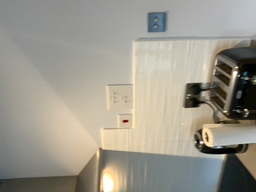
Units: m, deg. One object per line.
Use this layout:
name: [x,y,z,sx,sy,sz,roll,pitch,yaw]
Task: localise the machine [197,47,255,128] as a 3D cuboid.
machine: [0.500,-0.050,1.000,0.250,0.210,0.300,-101,10,-63]
